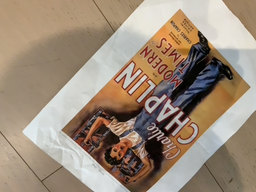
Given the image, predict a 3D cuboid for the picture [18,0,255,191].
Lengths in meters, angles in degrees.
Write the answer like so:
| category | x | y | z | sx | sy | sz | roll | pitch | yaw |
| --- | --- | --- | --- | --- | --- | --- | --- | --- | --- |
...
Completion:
| category | x | y | z | sx | sy | sz | roll | pitch | yaw |
| --- | --- | --- | --- | --- | --- | --- | --- | --- | --- |
| picture | 0.050 | 0.020 | 0.270 | 0.210 | 0.020 | 0.300 | 43 | 90 | -9 |
